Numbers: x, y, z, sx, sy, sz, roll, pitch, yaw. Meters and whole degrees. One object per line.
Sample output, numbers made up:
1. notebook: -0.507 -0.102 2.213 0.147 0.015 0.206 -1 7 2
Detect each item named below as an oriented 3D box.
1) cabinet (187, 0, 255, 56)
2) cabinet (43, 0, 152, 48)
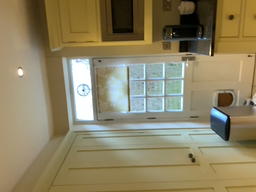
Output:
1. cabinet: 1.080 -0.910 1.920 0.650 0.870 1.010 -94 2 -75
2. cabinet: -0.270 -0.960 2.020 0.370 0.950 0.940 -94 2 -75
